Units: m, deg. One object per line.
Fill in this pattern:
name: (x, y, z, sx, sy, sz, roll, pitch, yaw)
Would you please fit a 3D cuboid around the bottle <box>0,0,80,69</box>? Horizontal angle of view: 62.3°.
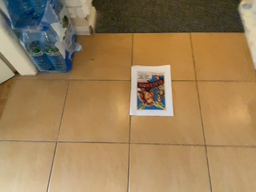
bottle: (-0.400, -0.400, 0.920, 0.210, 0.640, 0.240, -1, 62, 1)
